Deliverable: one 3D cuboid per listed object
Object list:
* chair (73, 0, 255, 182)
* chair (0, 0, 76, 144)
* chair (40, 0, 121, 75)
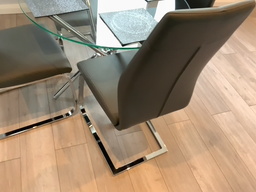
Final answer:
[{"bbox_3d":[0.050,-0.100,1.070,0.460,1.010,0.560,-17,54,-23],"label":"chair"},{"bbox_3d":[-0.640,-0.260,1.070,0.570,1.010,0.440,-21,56,-26],"label":"chair"},{"bbox_3d":[-0.370,-0.740,1.550,0.440,1.010,0.520,-17,55,-24],"label":"chair"}]
